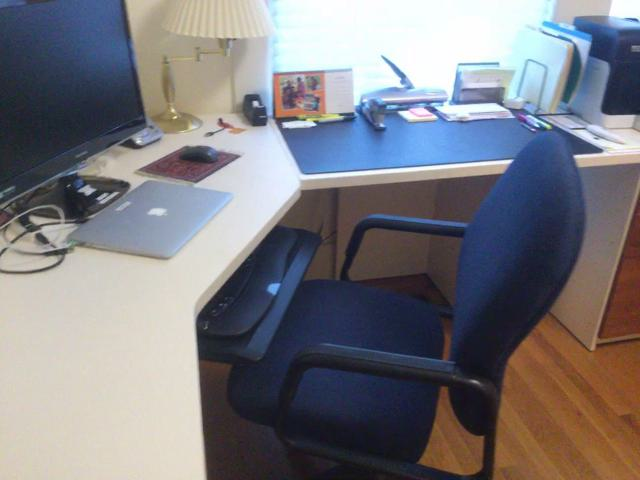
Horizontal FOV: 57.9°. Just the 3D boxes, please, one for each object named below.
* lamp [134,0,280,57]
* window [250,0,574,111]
[{"bbox_3d":[-0.330,-0.680,1.670,0.370,0.220,0.390,-5,28,-12],"label":"lamp"},{"bbox_3d":[0.330,-1.150,1.710,1.080,1.490,0.120,-5,28,-12],"label":"window"}]
